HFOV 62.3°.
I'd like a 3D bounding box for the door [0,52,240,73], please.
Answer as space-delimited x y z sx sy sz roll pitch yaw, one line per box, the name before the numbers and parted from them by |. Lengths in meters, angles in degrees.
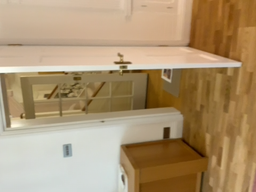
door | -0.140 -0.310 1.780 0.750 1.960 0.050 -136 45 -66
